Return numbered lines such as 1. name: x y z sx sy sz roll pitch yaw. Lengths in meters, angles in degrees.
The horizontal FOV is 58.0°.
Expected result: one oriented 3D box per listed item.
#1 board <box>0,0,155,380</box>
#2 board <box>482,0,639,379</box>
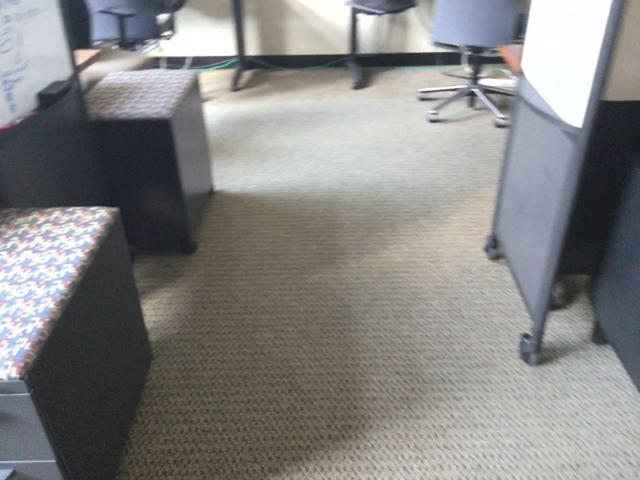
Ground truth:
1. board: -0.760 -0.500 1.510 0.160 1.630 0.760 0 32 2
2. board: 0.630 -0.520 1.400 0.130 1.680 0.690 0 32 2
